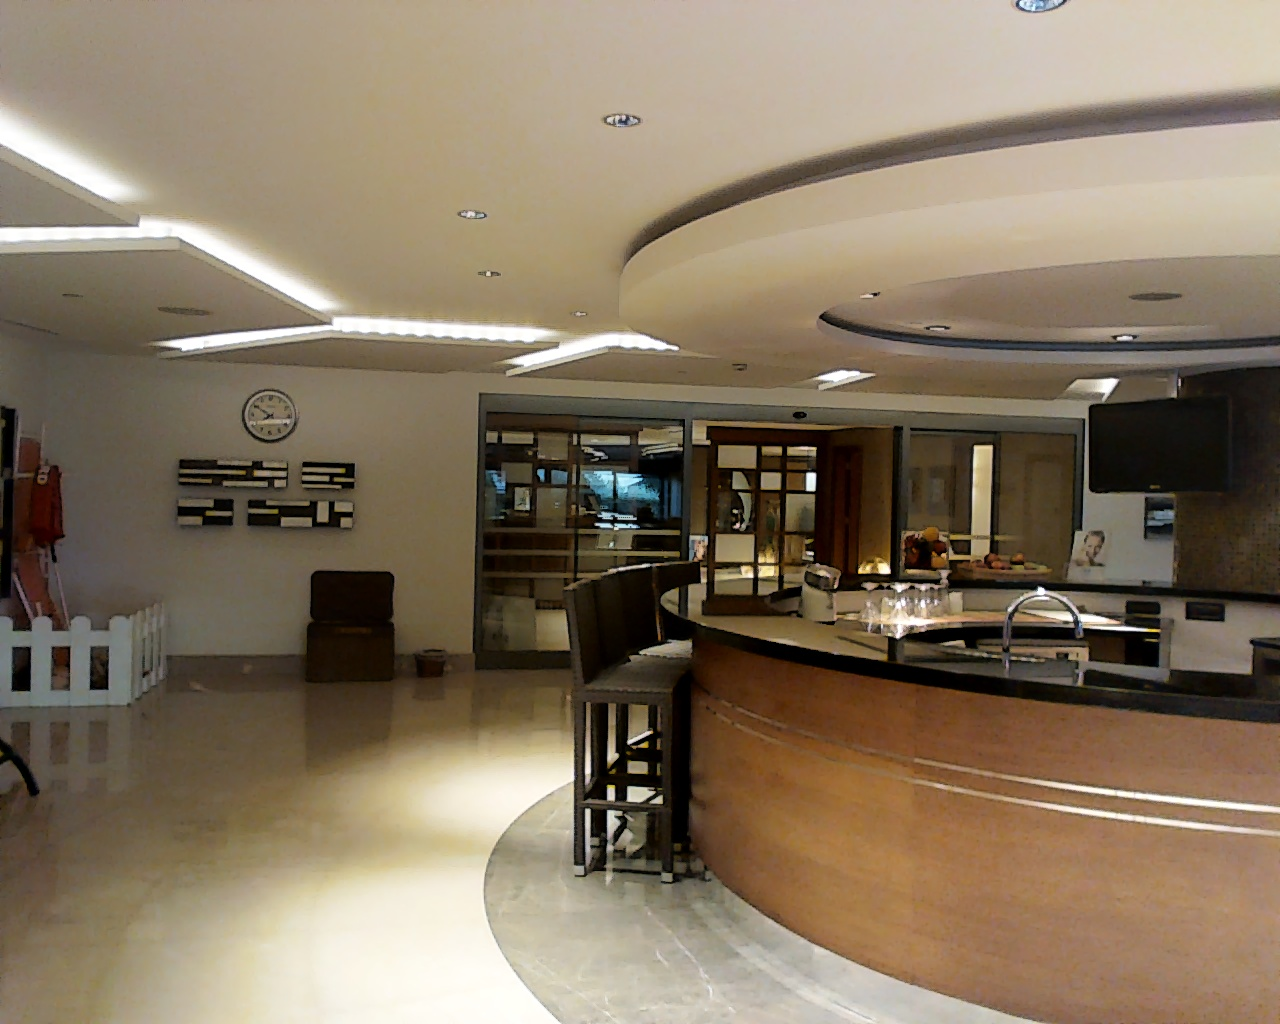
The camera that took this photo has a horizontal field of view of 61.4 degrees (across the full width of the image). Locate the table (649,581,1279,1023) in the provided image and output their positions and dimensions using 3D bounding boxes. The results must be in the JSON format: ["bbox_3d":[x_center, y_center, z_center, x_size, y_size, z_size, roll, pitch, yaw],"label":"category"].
[{"bbox_3d":[2.220,1.030,4.550,4.229,1.120,4.010,1,0,-1],"label":"table"}]

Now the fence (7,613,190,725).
[{"bbox_3d":[-3.889,1.110,7.850,0.890,0.630,1.190,1,0,-11],"label":"fence"}]
